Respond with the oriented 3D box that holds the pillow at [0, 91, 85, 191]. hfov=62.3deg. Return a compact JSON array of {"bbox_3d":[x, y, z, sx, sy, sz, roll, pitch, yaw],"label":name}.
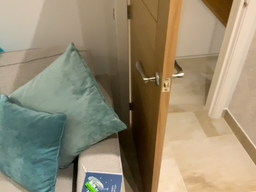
[{"bbox_3d":[-0.460,0.240,0.980,0.410,0.350,0.130,30,25,6],"label":"pillow"}]
